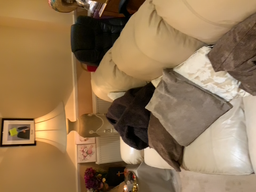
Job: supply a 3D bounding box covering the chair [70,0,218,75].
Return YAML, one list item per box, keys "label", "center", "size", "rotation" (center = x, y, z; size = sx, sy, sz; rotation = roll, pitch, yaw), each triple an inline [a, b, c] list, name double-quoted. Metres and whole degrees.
- label: "chair"
  center: [0.090, -0.630, 2.040]
  size: [0.770, 1.140, 0.600]
  rotation: [151, 116, -64]
